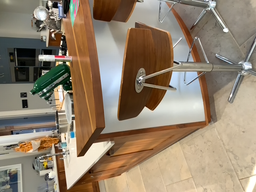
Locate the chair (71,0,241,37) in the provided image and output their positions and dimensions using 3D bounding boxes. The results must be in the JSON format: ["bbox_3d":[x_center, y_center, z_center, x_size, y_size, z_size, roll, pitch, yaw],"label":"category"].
[{"bbox_3d":[0.210,-0.700,1.470,0.480,1.070,0.380,46,132,52],"label":"chair"}]

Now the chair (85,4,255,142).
[{"bbox_3d":[0.370,-0.160,1.200,0.510,1.070,0.470,46,132,52],"label":"chair"}]
